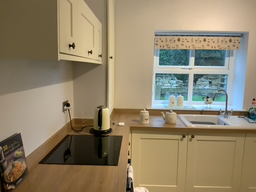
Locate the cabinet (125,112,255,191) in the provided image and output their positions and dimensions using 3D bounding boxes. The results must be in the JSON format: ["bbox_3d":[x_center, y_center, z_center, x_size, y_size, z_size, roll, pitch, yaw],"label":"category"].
[{"bbox_3d":[1.110,0.740,2.560,2.260,0.940,0.600,1,8,2],"label":"cabinet"}]

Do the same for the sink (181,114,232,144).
[{"bbox_3d":[0.890,0.370,2.500,0.410,0.210,0.510,1,8,2],"label":"sink"}]
